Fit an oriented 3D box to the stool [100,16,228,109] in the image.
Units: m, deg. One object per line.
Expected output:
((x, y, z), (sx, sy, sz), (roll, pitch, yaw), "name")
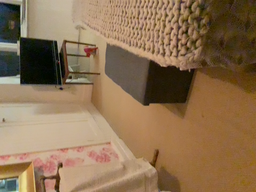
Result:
((0.150, -0.290, 1.490), (0.880, 0.390, 0.410), (41, 127, 56), "stool")
